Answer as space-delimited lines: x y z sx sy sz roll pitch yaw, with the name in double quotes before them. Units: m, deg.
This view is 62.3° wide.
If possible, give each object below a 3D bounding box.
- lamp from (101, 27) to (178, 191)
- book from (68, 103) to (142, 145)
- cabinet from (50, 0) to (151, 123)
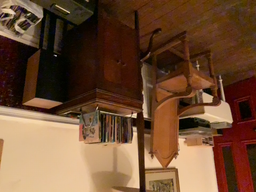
"lamp" 0.090 0.360 2.060 0.490 1.920 0.490 -17 157 41
"book" -0.160 0.230 1.590 0.300 0.230 0.450 -17 157 42
"cabinet" -0.230 -0.290 1.830 0.600 0.910 0.550 -17 157 41
